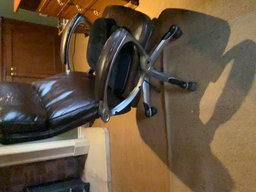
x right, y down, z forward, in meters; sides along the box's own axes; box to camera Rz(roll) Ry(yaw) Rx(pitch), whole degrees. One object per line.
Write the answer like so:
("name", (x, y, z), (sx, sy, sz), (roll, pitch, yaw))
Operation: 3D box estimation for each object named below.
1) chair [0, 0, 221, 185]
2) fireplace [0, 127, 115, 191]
("chair", (-0.200, -0.160, 1.250), (0.740, 1.020, 0.760), (40, 121, 45))
("fireplace", (-0.890, 1.150, 1.880), (0.790, 1.370, 1.610), (-12, 80, 52))
